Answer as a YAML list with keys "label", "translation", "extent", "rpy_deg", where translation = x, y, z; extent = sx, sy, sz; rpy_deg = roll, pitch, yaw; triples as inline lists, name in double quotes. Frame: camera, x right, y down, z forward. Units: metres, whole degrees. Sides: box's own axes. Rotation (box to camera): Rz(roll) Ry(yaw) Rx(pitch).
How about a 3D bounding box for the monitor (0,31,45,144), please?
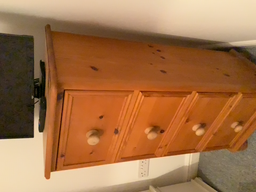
- label: "monitor"
  translation: [-0.530, 0.000, 0.850]
  extent: [0.060, 0.350, 0.540]
  rpy_deg: [-116, 35, -43]
